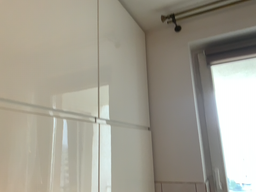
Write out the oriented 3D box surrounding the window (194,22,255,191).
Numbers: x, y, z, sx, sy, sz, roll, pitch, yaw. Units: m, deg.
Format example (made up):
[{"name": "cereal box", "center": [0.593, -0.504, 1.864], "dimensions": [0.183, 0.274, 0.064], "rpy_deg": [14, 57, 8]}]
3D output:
[{"name": "window", "center": [0.870, 0.350, 1.190], "dimensions": [0.750, 1.600, 0.230], "rpy_deg": [-9, -14, 26]}]
